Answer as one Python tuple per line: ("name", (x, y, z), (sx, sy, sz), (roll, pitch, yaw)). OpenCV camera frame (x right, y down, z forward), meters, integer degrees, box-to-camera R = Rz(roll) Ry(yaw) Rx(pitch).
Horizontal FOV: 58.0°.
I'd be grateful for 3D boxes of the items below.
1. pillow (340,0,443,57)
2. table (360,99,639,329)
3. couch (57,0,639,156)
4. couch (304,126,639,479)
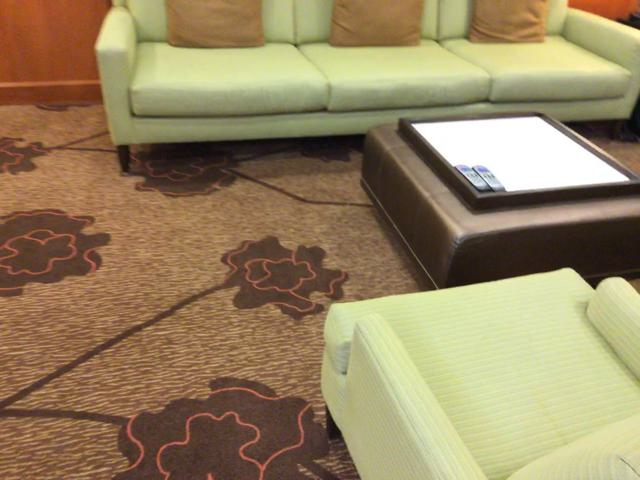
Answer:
("pillow", (0.390, -1.360, 3.180), (0.530, 0.580, 0.190), (-11, 31, -10))
("table", (0.720, -0.170, 2.300), (0.930, 0.490, 0.920), (-4, 30, -8))
("couch", (0.360, -1.130, 3.120), (3.080, 0.900, 1.170), (-3, 30, -13))
("couch", (0.400, 0.340, 1.170), (0.740, 0.830, 0.940), (-4, 30, -8))
